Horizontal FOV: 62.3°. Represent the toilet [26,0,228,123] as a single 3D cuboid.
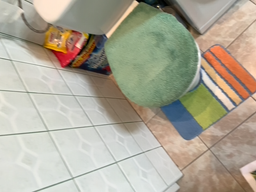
[{"bbox_3d":[0.040,-0.270,1.050,0.420,0.690,0.660,-46,65,20],"label":"toilet"}]
